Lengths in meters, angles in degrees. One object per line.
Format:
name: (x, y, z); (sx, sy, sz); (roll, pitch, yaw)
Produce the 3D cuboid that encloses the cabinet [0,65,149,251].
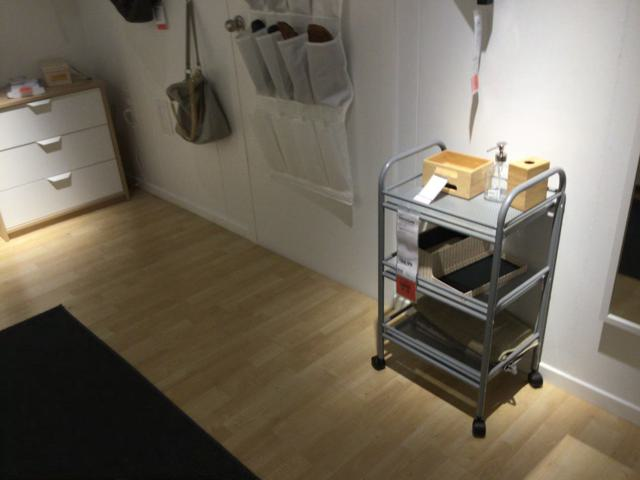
cabinet: (-1.450, -0.480, 3.080); (0.500, 0.740, 0.800); (19, 32, 37)
